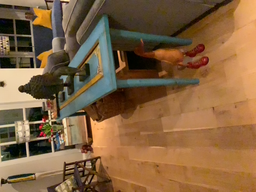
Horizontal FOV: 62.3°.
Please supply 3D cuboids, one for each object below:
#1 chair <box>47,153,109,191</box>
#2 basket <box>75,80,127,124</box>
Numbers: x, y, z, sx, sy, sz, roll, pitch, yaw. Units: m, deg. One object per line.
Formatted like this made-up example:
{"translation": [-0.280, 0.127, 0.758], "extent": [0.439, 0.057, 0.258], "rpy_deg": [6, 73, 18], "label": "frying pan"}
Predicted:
{"translation": [-0.850, 1.420, 3.490], "extent": [0.580, 0.830, 0.540], "rpy_deg": [49, 135, 46], "label": "chair"}
{"translation": [-0.370, 0.080, 2.790], "extent": [0.430, 0.500, 0.450], "rpy_deg": [-27, 71, 59], "label": "basket"}
